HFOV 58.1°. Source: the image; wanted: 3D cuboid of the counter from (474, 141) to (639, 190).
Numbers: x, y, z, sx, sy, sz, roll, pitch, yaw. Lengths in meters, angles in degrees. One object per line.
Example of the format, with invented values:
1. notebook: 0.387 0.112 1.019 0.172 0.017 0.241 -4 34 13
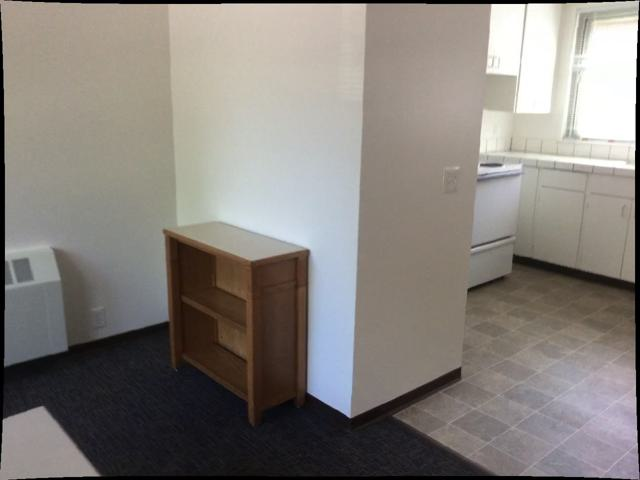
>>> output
1. counter: 2.286 -0.571 4.460 0.669 0.210 2.119 -13 19 -38
